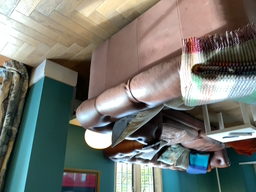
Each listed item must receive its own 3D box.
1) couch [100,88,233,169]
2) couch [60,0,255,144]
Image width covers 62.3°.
[{"bbox_3d":[0.740,0.700,3.480,0.950,0.740,2.250,-22,148,39],"label":"couch"},{"bbox_3d":[0.360,-0.170,1.580,1.390,0.710,1.030,-22,148,40],"label":"couch"}]
